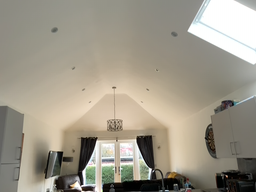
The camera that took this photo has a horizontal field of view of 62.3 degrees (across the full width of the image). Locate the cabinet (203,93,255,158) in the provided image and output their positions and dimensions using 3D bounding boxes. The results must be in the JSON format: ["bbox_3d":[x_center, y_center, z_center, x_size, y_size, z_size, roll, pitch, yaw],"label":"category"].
[{"bbox_3d":[1.560,0.480,2.970,0.400,0.720,1.290,-1,-15,-4],"label":"cabinet"}]
